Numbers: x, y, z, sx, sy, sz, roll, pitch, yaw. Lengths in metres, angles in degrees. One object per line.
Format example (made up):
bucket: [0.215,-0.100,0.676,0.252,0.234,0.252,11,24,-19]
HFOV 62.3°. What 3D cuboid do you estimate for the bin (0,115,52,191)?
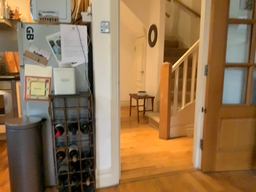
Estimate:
bin: [-0.740,0.500,1.560,0.290,0.670,0.250,-2,9,-13]
